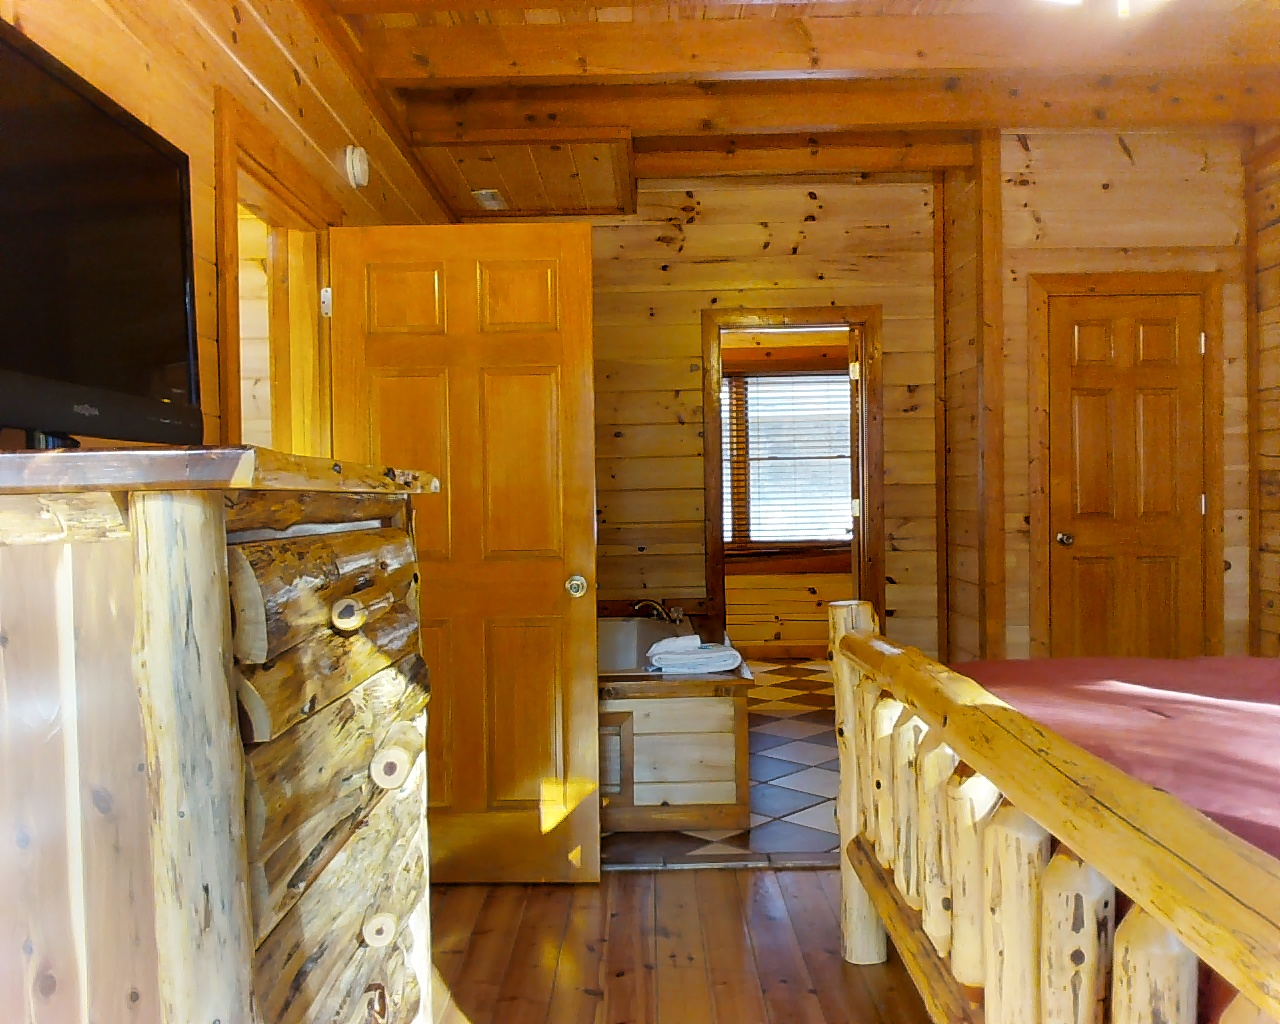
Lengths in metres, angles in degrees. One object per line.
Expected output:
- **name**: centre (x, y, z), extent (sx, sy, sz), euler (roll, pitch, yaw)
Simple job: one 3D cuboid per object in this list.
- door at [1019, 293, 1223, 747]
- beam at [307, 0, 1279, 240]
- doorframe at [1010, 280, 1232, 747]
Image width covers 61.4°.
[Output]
- **door**: centre (2.209, 0.040, 4.950), extent (0.870, 2.051, 0.050), euler (-2, 1, 1)
- **beam**: centre (0.890, -1.631, 4.480), extent (3.819, 0.330, 2.330), euler (-2, 1, 1)
- **doorframe**: centre (2.209, 0.010, 4.950), extent (0.950, 2.111, 0.040), euler (-2, 1, 1)
